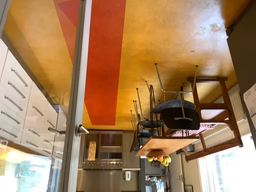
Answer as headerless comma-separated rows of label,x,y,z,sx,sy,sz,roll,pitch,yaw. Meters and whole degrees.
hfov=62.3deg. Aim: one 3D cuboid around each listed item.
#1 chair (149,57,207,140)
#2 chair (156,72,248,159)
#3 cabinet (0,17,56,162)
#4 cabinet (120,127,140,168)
chair,0.500,0.050,2.330,0.400,0.760,0.510,2,159,-8
chair,0.910,0.440,3.200,0.550,0.850,1.800,1,159,-5
cabinet,-1.350,0.090,2.130,0.620,0.920,2.360,1,159,-5
cabinet,0.030,1.290,5.250,0.400,0.910,0.630,1,159,-5
